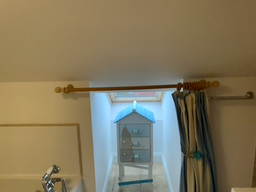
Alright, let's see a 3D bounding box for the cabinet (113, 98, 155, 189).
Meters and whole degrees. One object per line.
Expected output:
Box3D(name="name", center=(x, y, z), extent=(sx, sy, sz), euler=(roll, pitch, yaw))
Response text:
Box3D(name="cabinet", center=(0.090, 0.550, 2.540), extent=(0.430, 0.980, 0.420), euler=(-1, 12, 4))
